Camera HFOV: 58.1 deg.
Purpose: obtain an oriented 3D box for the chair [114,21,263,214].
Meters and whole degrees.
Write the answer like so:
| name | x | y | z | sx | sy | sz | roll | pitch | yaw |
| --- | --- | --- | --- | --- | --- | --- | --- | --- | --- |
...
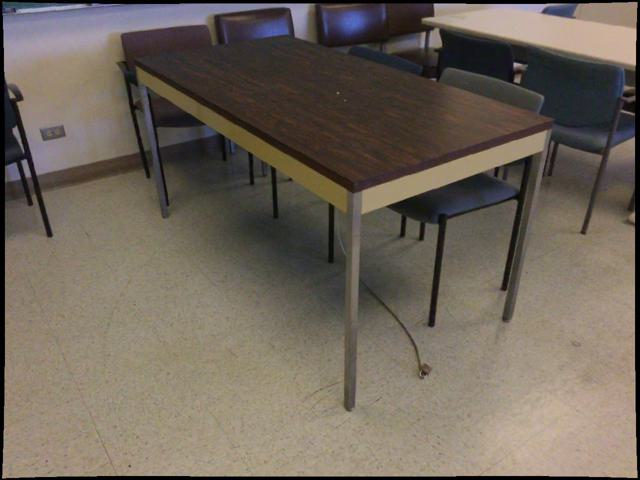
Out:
| name | x | y | z | sx | sy | sz | roll | pitch | yaw |
| --- | --- | --- | --- | --- | --- | --- | --- | --- | --- |
| chair | -0.668 | -0.652 | 2.980 | 0.479 | 0.761 | 0.570 | -20 | 37 | -26 |

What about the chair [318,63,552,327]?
| name | x | y | z | sx | sy | sz | roll | pitch | yaw |
| --- | --- | --- | --- | --- | --- | --- | --- | --- | --- |
| chair | 0.399 | -0.201 | 2.150 | 0.609 | 0.711 | 0.500 | -21 | 36 | -28 |

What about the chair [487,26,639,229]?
| name | x | y | z | sx | sy | sz | roll | pitch | yaw |
| --- | --- | --- | --- | --- | --- | --- | --- | --- | --- |
| chair | 1.227 | -0.551 | 2.670 | 0.509 | 0.691 | 0.620 | -21 | 36 | -28 |

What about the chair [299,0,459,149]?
| name | x | y | z | sx | sy | sz | roll | pitch | yaw |
| --- | --- | --- | --- | --- | --- | --- | --- | --- | --- |
| chair | 0.329 | -1.083 | 3.540 | 0.679 | 0.731 | 0.720 | -13 | 32 | -17 |

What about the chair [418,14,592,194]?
| name | x | y | z | sx | sy | sz | roll | pitch | yaw |
| --- | --- | --- | --- | --- | --- | --- | --- | --- | --- |
| chair | 0.938 | -0.742 | 3.040 | 0.539 | 0.711 | 0.590 | -23 | 37 | -31 |
